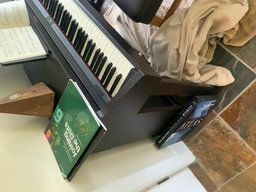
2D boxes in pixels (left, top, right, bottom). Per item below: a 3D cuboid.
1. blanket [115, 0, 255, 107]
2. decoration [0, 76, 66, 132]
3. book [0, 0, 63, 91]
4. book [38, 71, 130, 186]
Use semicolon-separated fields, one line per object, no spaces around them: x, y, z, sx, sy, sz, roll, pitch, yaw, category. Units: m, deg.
0.390;-0.410;1.210;0.830;0.350;0.510;-51;59;30;blanket
-0.400;0.030;0.850;0.120;0.220;0.170;51;121;29;decoration
-0.570;-0.300;0.920;0.240;0.320;0.530;-51;59;30;book
-0.190;0.120;0.810;0.300;0.120;0.290;-52;59;30;book
